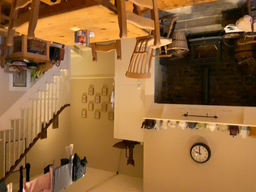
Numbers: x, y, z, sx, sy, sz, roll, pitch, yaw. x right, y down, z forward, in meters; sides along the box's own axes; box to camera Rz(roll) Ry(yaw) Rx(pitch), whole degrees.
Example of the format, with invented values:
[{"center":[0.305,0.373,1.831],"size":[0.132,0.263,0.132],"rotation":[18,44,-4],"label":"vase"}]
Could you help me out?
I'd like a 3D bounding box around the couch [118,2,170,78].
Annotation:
[{"center":[0.270,-0.930,3.830],"size":[0.580,1.150,0.710],"rotation":[0,-178,-37],"label":"couch"}]
